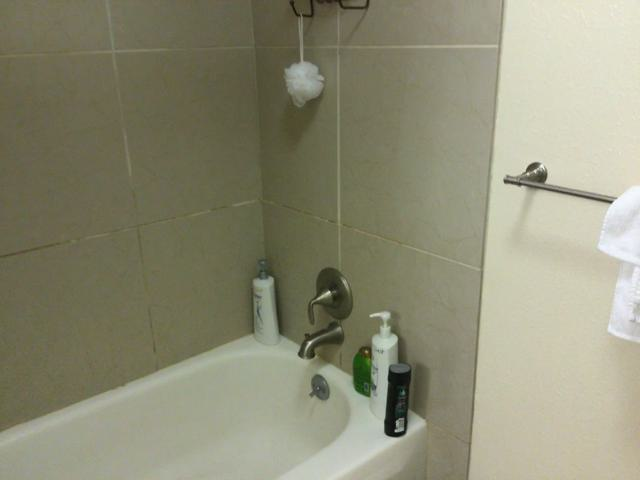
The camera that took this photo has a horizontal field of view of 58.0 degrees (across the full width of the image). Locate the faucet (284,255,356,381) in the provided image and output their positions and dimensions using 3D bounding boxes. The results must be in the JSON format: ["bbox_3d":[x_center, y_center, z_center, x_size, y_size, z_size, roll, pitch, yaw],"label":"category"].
[{"bbox_3d":[0.000,0.240,1.830,0.140,0.330,0.180,-14,21,-36],"label":"faucet"}]
